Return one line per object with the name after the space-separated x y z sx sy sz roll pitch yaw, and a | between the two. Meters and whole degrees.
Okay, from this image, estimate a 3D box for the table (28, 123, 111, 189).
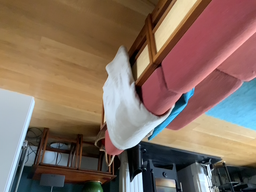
-0.750 0.820 2.770 0.830 0.510 0.690 16 138 -23 | table

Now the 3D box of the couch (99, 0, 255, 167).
0.510 -0.280 1.200 0.780 0.770 1.540 17 138 -23 | couch
